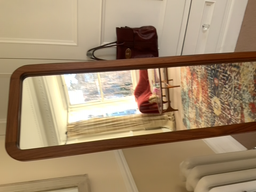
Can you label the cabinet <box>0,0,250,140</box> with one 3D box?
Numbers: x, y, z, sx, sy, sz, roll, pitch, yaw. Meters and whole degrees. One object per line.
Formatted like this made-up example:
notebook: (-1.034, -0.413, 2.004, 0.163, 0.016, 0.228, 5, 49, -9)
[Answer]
cabinet: (-0.240, -0.380, 1.820, 0.600, 2.240, 1.240, -125, 37, -61)
